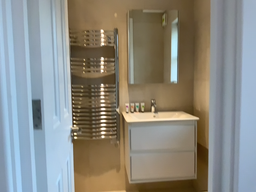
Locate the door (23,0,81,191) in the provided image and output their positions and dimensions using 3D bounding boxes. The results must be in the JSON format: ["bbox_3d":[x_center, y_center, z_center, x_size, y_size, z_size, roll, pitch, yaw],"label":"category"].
[{"bbox_3d":[-0.340,0.060,1.110,0.050,2.090,0.870,-2,5,-7],"label":"door"}]
